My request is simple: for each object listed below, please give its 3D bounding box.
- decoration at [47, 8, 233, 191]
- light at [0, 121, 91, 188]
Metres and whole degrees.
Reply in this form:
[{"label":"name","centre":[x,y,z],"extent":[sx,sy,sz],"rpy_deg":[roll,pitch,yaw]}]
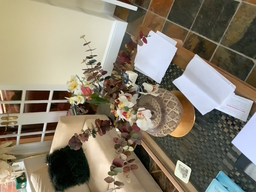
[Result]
[{"label":"decoration","centre":[0.000,0.020,1.210],"extent":[0.600,0.630,0.690],"rpy_deg":[49,126,40]},{"label":"light","centre":[-1.390,0.770,2.910],"extent":[0.480,1.640,0.600],"rpy_deg":[28,112,48]}]
